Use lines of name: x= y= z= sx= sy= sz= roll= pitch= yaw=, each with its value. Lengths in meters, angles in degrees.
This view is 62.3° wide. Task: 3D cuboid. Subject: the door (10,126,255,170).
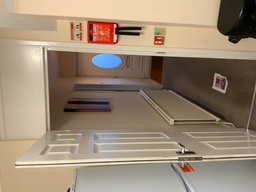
door: x=0.310 y=0.350 z=1.630 sx=0.700 sy=2.010 sz=0.050 roll=-155 pitch=66 yaw=-79
